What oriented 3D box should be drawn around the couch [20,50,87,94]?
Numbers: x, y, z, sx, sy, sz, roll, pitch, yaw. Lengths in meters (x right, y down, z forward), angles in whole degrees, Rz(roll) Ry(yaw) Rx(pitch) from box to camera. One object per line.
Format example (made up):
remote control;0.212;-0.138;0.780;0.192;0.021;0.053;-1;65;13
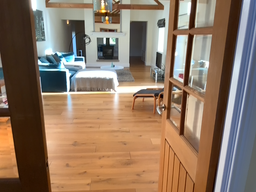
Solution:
couch;-2.250;-0.980;7.260;1.350;0.860;3.490;-1;17;-5
